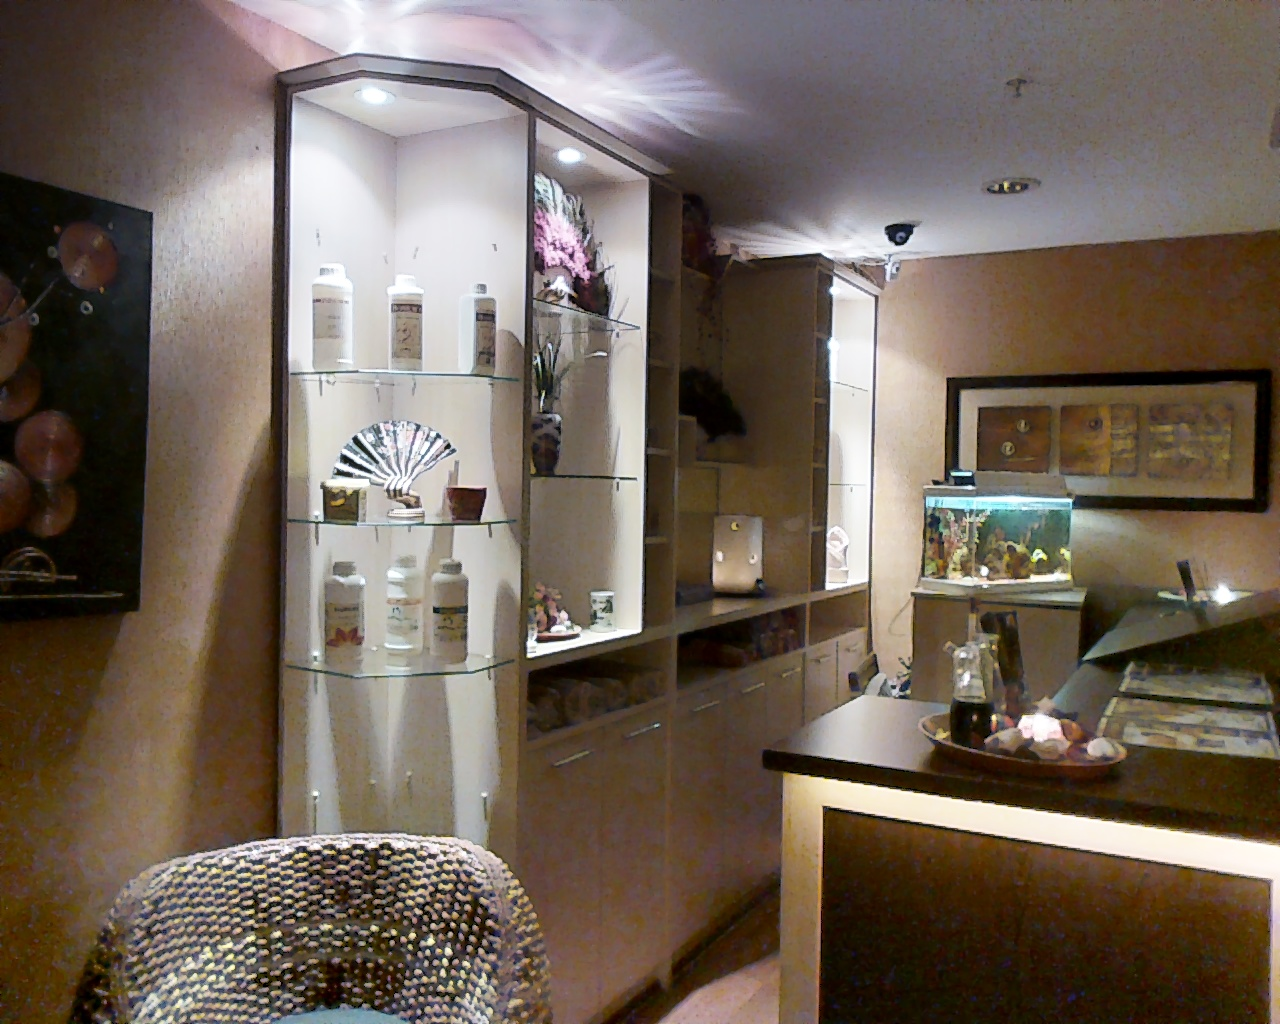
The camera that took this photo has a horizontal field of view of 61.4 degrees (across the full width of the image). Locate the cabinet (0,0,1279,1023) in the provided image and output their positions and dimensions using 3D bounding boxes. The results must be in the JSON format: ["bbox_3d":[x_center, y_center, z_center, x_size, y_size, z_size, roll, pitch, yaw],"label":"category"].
[{"bbox_3d":[-0.670,0.270,0.560,2.560,2.621,3.540,1,1,30],"label":"cabinet"}]

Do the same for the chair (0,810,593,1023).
[{"bbox_3d":[-0.670,1.130,2.030,0.940,0.830,0.660,1,1,30],"label":"chair"}]

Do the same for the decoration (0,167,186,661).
[{"bbox_3d":[-1.070,-0.170,2.020,0.060,0.860,0.450,1,1,30],"label":"decoration"}]
